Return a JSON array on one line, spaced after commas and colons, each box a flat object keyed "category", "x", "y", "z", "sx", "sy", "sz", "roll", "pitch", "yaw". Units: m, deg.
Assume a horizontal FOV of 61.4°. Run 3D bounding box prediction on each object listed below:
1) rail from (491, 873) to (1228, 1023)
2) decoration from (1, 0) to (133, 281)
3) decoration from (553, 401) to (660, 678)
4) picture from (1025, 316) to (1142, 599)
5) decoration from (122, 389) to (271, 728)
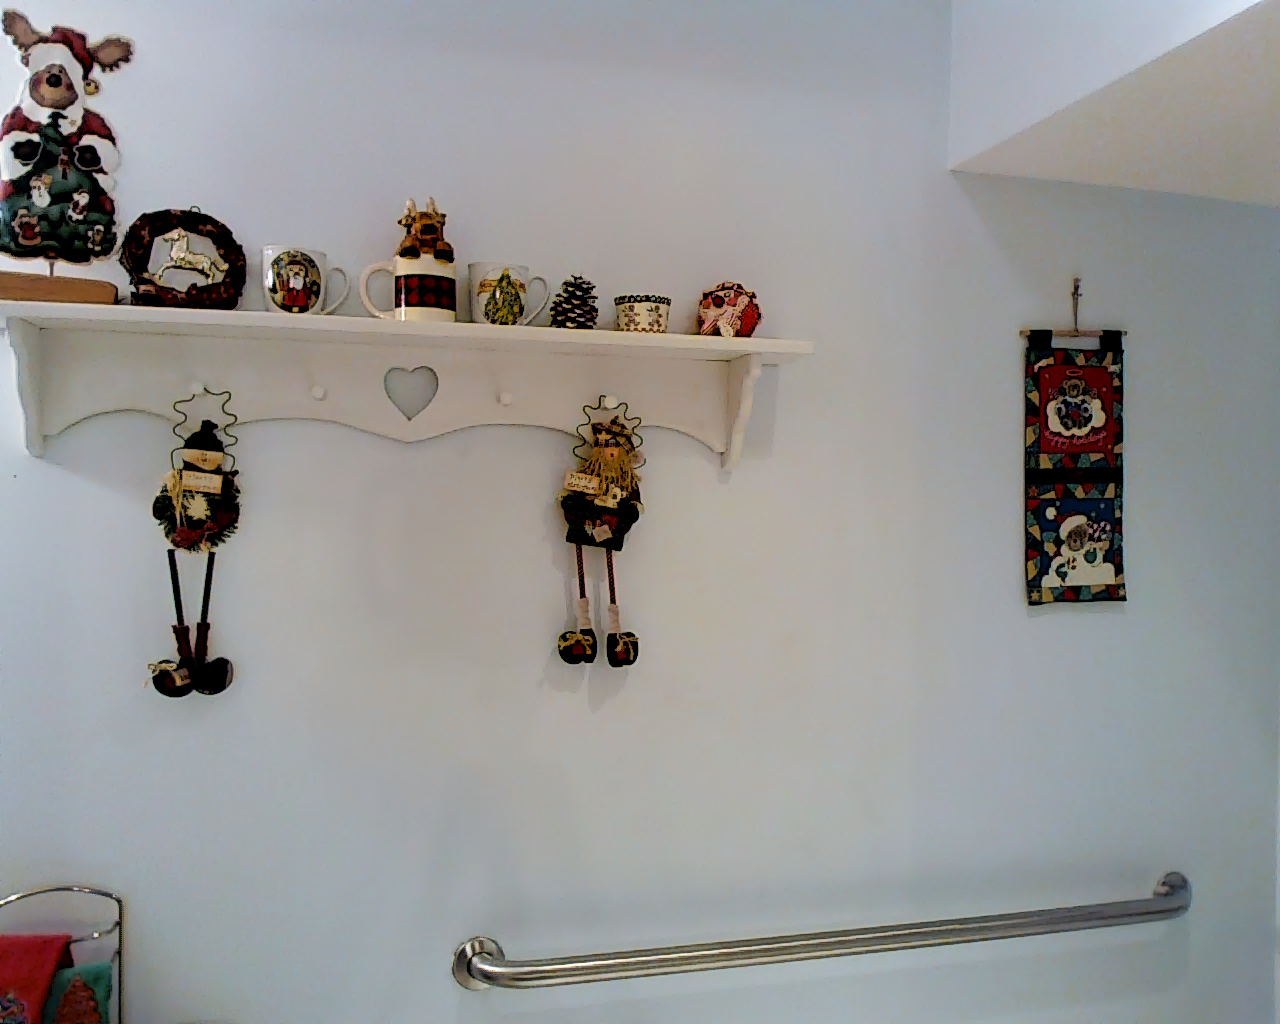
[{"category": "rail", "x": 0.390, "y": 0.680, "z": 1.710, "sx": 1.240, "sy": 0.080, "sz": 0.080, "roll": 0, "pitch": 1, "yaw": -15}, {"category": "decoration", "x": -0.740, "y": -0.480, "z": 1.390, "sx": 0.140, "sy": 0.330, "sz": 0.100, "roll": 0, "pitch": 1, "yaw": -34}, {"category": "decoration", "x": -0.050, "y": 0.040, "z": 1.600, "sx": 0.150, "sy": 0.400, "sz": 0.050, "roll": 0, "pitch": 1, "yaw": -16}, {"category": "picture", "x": 0.750, "y": -0.090, "z": 1.820, "sx": 0.210, "sy": 0.470, "sz": 0.020, "roll": 0, "pitch": 1, "yaw": -14}, {"category": "decoration", "x": -0.590, "y": 0.060, "z": 1.440, "sx": 0.180, "sy": 0.440, "sz": 0.040, "roll": 0, "pitch": 1, "yaw": -16}]
